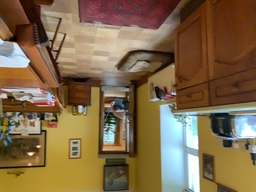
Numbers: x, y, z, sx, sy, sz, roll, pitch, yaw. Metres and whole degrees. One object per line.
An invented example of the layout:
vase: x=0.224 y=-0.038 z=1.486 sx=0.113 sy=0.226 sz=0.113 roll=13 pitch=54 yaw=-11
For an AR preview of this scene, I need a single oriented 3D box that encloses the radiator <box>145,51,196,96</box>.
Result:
radiator: x=0.580 y=-0.270 z=3.360 sx=0.100 sy=0.400 sz=1.620 roll=2 pitch=174 yaw=-14
